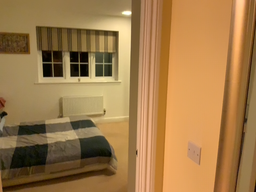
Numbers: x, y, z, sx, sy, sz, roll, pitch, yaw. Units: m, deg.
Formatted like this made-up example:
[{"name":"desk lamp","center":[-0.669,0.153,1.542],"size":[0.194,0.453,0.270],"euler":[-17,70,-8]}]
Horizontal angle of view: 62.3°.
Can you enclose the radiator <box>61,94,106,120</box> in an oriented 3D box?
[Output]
[{"name":"radiator","center":[-0.980,0.230,4.730],"size":[0.960,0.500,0.110],"euler":[-3,11,-20]}]

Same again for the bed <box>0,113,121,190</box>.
[{"name":"bed","center":[-1.430,0.730,3.300],"size":[2.210,0.370,1.710],"euler":[-3,11,-21]}]
